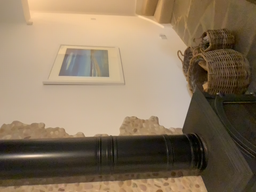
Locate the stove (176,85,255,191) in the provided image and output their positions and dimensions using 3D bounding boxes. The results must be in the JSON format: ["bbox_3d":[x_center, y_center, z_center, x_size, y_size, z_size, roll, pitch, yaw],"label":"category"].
[{"bbox_3d":[0.730,0.290,1.240,0.610,0.650,0.430,-100,13,-52],"label":"stove"}]

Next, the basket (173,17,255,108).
[{"bbox_3d":[0.760,-0.350,1.980,0.830,0.350,0.500,-101,13,-53],"label":"basket"}]
